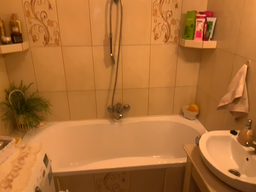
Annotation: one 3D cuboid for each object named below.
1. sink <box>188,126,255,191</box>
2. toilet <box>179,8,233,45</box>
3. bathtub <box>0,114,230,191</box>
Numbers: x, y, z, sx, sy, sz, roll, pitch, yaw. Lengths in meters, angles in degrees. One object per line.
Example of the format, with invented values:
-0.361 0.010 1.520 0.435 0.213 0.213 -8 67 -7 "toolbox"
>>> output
0.590 0.370 1.170 0.330 0.160 0.500 -2 23 -6 "sink"
0.600 -0.560 1.690 0.280 0.260 0.270 -2 23 -6 "toilet"
-0.180 0.610 1.850 1.740 0.610 0.680 -2 22 -4 "bathtub"
